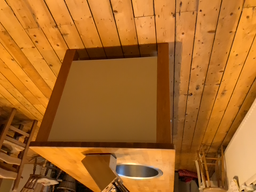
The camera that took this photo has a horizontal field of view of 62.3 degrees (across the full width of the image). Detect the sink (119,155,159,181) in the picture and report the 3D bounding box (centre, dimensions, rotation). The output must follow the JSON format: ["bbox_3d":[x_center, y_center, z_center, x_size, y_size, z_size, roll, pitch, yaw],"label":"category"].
[{"bbox_3d":[0.110,0.640,1.880,0.310,0.140,0.290,-1,146,11],"label":"sink"}]

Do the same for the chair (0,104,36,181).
[{"bbox_3d":[-1.740,0.650,2.930,0.440,0.880,0.470,-19,140,32],"label":"chair"}]

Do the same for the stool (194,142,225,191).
[{"bbox_3d":[1.270,1.120,3.380,0.330,0.670,0.350,0,146,8],"label":"stool"}]
